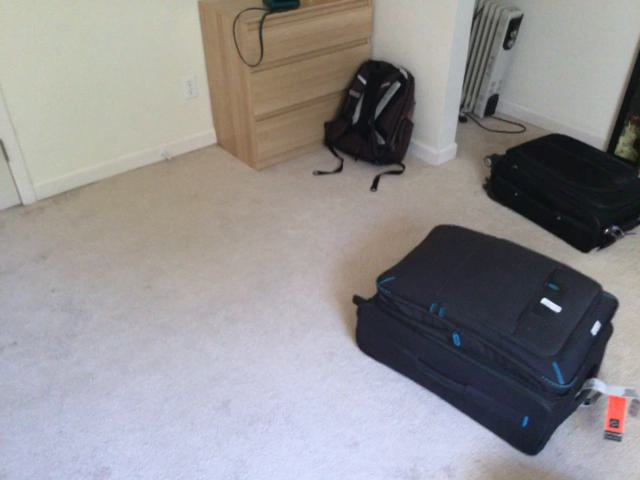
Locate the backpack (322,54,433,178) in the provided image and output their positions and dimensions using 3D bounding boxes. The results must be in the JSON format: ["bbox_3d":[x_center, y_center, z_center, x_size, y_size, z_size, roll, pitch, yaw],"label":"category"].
[{"bbox_3d":[0.260,-0.600,2.760,0.290,0.420,0.390,-24,44,-35],"label":"backpack"}]

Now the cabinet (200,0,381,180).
[{"bbox_3d":[-0.150,-0.810,2.820,0.690,0.750,0.450,-24,44,-35],"label":"cabinet"}]
